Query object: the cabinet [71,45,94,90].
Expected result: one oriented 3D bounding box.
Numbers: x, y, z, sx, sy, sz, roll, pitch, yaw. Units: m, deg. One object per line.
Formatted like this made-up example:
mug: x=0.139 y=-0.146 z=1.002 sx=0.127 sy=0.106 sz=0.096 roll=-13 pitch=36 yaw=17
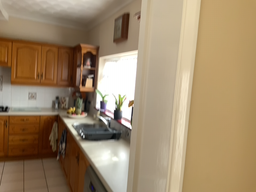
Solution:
cabinet: x=-0.910 y=-0.550 z=4.190 sx=0.320 sy=0.820 sz=0.320 roll=2 pitch=5 yaw=-27
